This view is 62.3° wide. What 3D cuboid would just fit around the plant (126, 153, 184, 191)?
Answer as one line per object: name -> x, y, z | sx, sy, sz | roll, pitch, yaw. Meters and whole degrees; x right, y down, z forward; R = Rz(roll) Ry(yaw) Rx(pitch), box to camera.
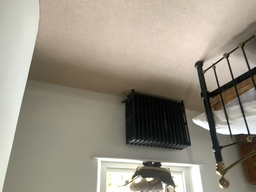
plant -> 0.280, 0.980, 2.330 | 0.420, 0.570, 0.490 | 11, 151, -23
